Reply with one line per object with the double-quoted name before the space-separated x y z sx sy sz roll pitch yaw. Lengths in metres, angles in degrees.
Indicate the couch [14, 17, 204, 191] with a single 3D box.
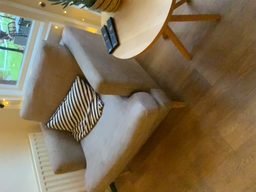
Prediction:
"couch" -0.260 0.160 1.660 0.970 0.840 0.970 55 127 35
